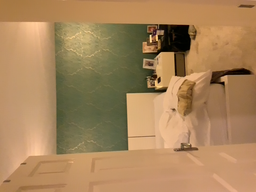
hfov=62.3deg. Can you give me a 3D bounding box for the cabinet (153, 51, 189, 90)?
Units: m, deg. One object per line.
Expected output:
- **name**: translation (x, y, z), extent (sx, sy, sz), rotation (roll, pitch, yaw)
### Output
- **cabinet**: translation (0.770, -0.450, 3.930), extent (0.580, 0.470, 0.610), rotation (151, 118, -82)
